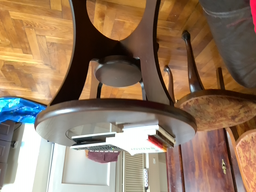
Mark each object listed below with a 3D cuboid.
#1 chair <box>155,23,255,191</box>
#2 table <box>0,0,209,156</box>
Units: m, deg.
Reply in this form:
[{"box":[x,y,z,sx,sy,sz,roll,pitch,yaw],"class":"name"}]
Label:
[{"box":[0.470,0.130,1.140,0.500,0.870,0.440,4,155,-8],"class":"chair"},{"box":[-0.060,-0.110,0.940,0.570,0.600,0.610,-15,151,31],"class":"table"}]
